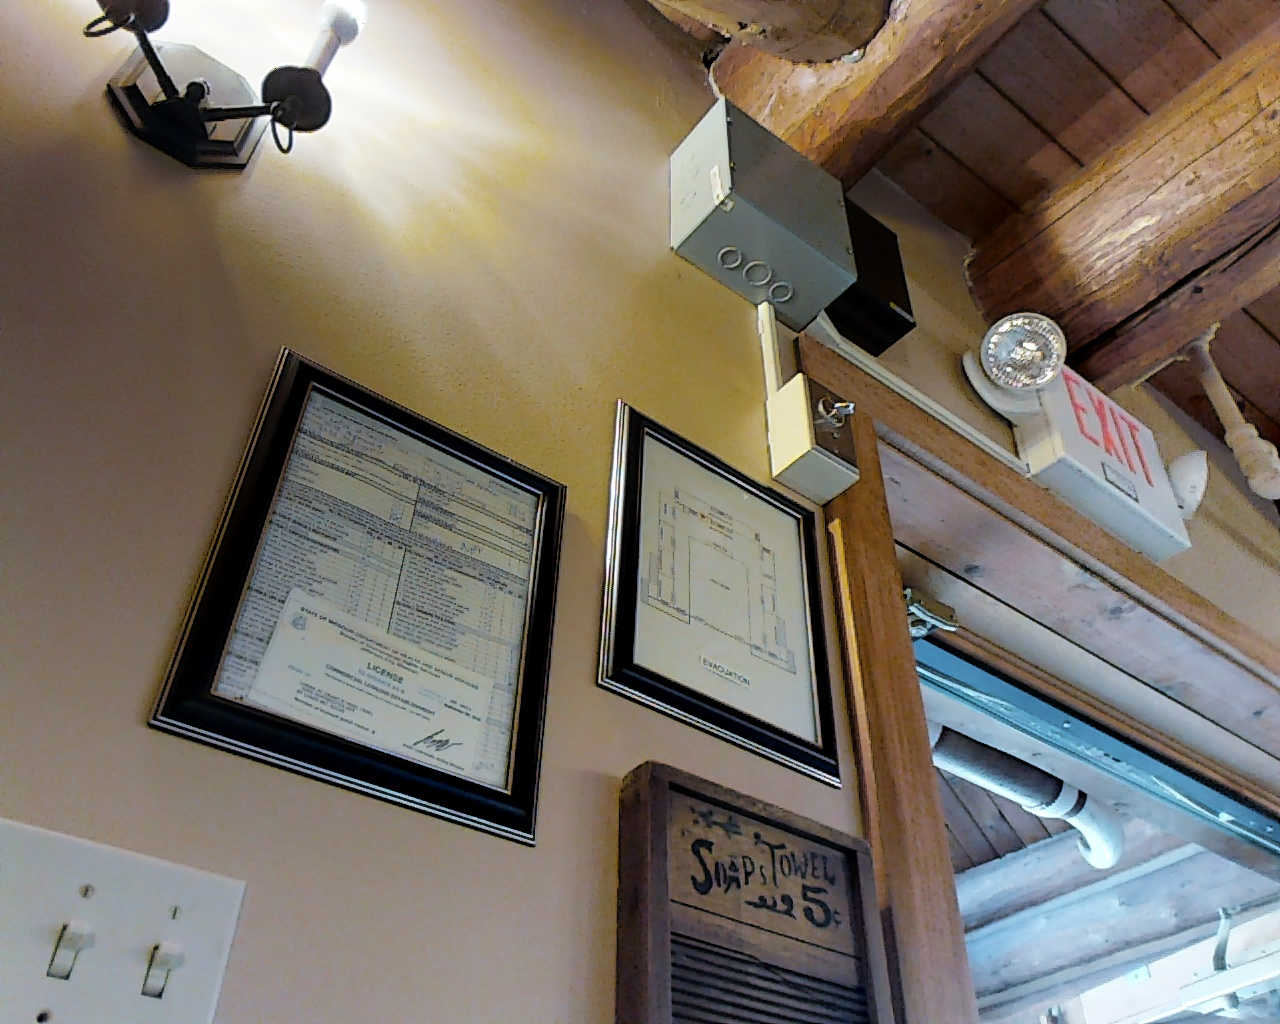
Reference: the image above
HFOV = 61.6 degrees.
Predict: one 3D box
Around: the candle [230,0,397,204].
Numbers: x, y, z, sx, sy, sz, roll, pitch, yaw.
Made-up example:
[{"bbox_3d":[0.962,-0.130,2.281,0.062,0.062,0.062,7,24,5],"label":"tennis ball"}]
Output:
[{"bbox_3d":[-0.280,-0.370,0.940,0.070,0.210,0.070,-20,-46,23],"label":"candle"}]
